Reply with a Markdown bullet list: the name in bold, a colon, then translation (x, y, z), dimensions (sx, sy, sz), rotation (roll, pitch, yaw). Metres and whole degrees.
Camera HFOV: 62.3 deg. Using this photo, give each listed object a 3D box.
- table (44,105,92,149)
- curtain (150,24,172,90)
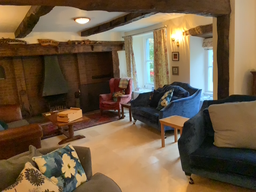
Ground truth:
- **table**: translation (-1.220, 0.570, 4.240), dimensions (0.590, 0.520, 1.010), rotation (-11, 13, -32)
- **curtain**: translation (0.820, -0.950, 5.250), dimensions (0.240, 1.520, 0.460), rotation (-11, 13, -30)
